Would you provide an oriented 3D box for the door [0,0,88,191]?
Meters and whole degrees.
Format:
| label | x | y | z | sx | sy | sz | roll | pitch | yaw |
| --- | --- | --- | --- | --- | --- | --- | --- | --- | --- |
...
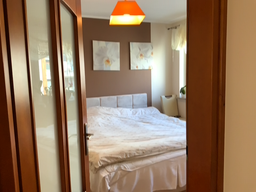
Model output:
| label | x | y | z | sx | sy | sz | roll | pitch | yaw |
| --- | --- | --- | --- | --- | --- | --- | --- | --- | --- |
| door | -0.400 | 0.340 | 1.200 | 0.100 | 2.070 | 0.910 | -1 | 7 | 2 |
